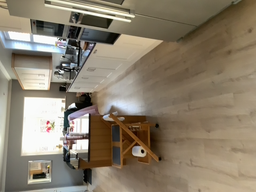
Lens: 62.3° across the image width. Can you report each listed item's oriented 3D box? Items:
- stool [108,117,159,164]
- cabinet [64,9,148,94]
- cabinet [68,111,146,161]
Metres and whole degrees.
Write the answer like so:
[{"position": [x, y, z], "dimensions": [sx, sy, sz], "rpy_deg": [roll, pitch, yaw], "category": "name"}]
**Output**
[{"position": [0.060, 0.580, 2.840], "dimensions": [0.420, 0.540, 0.560], "rpy_deg": [153, 117, -65], "category": "stool"}, {"position": [-0.780, -0.650, 4.720], "dimensions": [3.570, 0.880, 0.590], "rpy_deg": [158, 112, -66], "category": "cabinet"}, {"position": [-0.560, 0.740, 4.040], "dimensions": [2.260, 0.860, 0.650], "rpy_deg": [155, 115, -66], "category": "cabinet"}]
